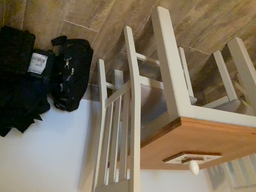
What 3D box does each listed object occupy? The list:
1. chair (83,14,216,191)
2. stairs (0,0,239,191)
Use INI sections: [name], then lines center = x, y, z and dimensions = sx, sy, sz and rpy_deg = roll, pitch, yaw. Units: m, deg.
[chair]
center = 0.070, 0.100, 1.320
dimensions = 0.520, 0.990, 0.450
rpy_deg = 15, 146, -31
[stairs]
center = -0.580, 0.610, 0.710
dimensions = 2.200, 2.300, 0.670
rpy_deg = 11, 148, -25
